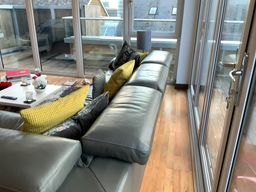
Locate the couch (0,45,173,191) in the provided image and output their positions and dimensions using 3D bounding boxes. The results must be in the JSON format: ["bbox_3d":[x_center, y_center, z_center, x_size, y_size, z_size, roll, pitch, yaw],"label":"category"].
[{"bbox_3d":[-0.150,0.080,2.270,1.050,0.750,3.060,6,22,12],"label":"couch"}]
